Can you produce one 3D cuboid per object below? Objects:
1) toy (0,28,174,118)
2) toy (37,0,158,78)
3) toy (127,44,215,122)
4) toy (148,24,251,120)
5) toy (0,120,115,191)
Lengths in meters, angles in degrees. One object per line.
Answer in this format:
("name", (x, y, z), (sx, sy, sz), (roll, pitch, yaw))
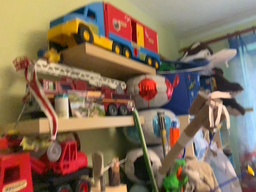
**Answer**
("toy", (-0.100, -0.030, 1.050), (0.280, 0.230, 0.930), (-11, -10, 34))
("toy", (-0.110, -0.350, 1.170), (0.240, 0.360, 0.710), (-10, -10, 31))
("toy", (0.310, -0.060, 1.560), (0.490, 0.440, 0.330), (-11, -10, 36))
("toy", (0.660, -0.140, 1.940), (0.630, 0.640, 0.640), (-12, -10, 38))
("toy", (-0.290, 0.230, 0.730), (0.180, 0.260, 0.530), (-11, -10, 34))
